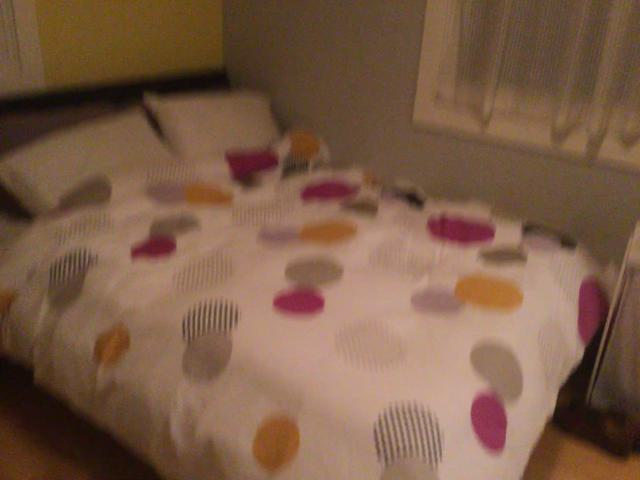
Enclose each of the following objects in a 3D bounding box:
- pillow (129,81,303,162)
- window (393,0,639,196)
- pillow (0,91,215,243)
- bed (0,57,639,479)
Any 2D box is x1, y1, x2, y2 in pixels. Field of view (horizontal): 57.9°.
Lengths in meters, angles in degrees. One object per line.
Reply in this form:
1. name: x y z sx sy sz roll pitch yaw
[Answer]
1. pillow: -0.430 -0.540 2.530 0.370 0.210 0.680 18 26 30
2. window: 0.950 -1.000 1.780 1.340 1.660 0.140 18 26 30
3. pillow: -0.850 -0.320 2.160 0.510 0.330 0.770 18 26 30
4. bed: -0.170 -0.050 1.990 2.090 0.830 1.640 18 26 30
